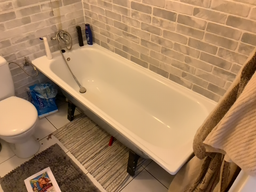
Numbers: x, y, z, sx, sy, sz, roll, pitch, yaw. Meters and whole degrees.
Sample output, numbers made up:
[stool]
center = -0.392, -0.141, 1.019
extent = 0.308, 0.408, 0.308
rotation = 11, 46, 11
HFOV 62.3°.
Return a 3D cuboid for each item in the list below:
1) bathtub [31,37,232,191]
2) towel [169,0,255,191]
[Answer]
[bathtub]
center = -0.100, 0.080, 1.950
extent = 0.680, 0.560, 1.690
rotation = -32, 49, -33
[towel]
center = 0.460, 0.040, 0.830
extent = 0.260, 1.030, 0.450
rotation = 30, 48, 31
